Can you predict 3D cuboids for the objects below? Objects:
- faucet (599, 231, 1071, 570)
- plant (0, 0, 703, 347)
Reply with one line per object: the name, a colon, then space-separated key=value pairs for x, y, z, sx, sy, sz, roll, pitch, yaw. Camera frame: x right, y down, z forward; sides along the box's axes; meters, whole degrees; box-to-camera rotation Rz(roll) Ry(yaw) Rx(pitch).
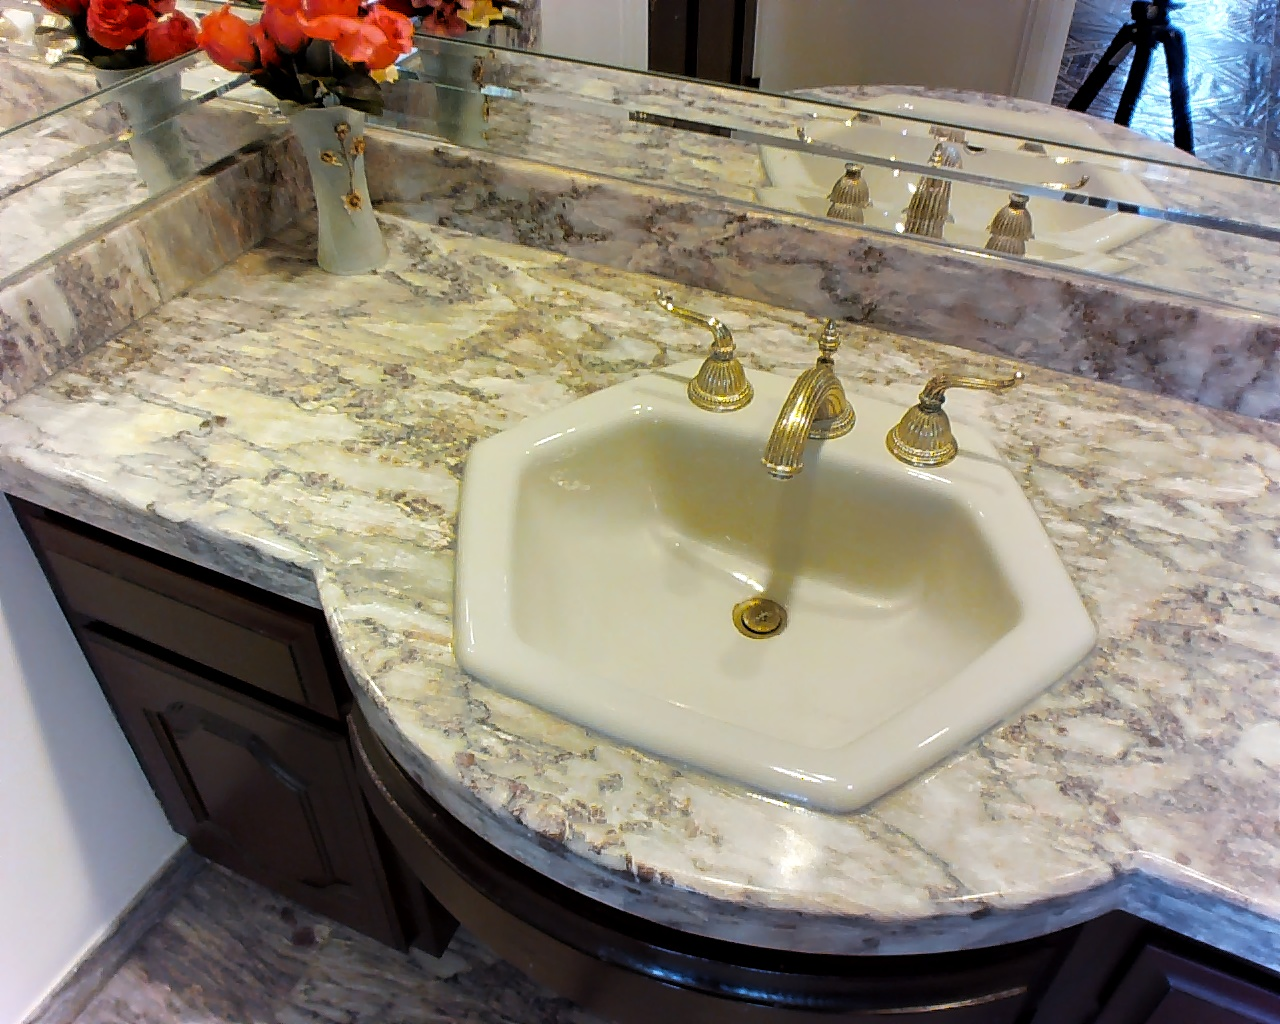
faucet: x=0.180 y=-0.120 z=0.990 sx=0.360 sy=0.110 sz=0.250 roll=18 pitch=45 yaw=18
plant: x=-0.300 y=-0.590 z=1.150 sx=0.660 sy=0.630 sz=0.340 roll=-12 pitch=43 yaw=-14
